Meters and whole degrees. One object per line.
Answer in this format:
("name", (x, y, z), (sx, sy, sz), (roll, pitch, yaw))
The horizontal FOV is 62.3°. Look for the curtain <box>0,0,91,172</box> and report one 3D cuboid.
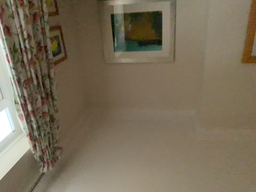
("curtain", (-0.690, -0.700, 1.570), (0.290, 2.740, 0.590), (2, -154, 11))
